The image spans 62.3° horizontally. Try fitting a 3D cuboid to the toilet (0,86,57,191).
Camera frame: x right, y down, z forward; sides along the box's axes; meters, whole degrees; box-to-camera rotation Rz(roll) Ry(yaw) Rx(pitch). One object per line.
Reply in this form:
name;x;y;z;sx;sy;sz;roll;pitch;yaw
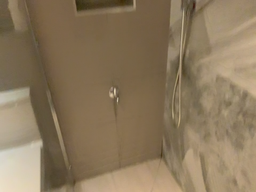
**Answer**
toilet;-0.710;0.440;1.260;0.400;0.760;0.590;-11;33;-14
